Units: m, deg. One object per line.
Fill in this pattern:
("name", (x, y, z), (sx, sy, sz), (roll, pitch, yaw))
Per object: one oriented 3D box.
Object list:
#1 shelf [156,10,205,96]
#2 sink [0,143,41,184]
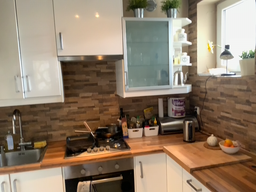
("shelf", (0.570, -0.450, 2.340), (0.390, 0.840, 0.370), (-4, 7, -13))
("sink", (-1.050, 0.600, 1.930), (0.410, 0.170, 0.440), (-4, 7, -13))
